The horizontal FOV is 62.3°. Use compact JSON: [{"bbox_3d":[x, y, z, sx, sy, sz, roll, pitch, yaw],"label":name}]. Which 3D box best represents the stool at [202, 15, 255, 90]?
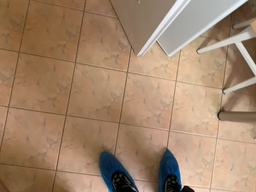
[{"bbox_3d":[0.690,-0.250,1.100,0.290,0.470,0.290,-36,92,-8],"label":"stool"}]
